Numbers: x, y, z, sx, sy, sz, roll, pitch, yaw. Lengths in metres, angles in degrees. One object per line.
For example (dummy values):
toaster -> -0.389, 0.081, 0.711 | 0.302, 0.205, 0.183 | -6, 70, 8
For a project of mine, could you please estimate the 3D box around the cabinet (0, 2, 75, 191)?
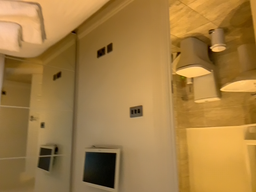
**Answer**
cabinet -> -1.380, 0.080, 2.140 | 1.580, 2.020, 0.430 | 8, 166, -42

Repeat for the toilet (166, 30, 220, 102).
toilet -> 0.930, -0.380, 3.050 | 0.620, 0.840, 0.430 | 8, 166, -41
